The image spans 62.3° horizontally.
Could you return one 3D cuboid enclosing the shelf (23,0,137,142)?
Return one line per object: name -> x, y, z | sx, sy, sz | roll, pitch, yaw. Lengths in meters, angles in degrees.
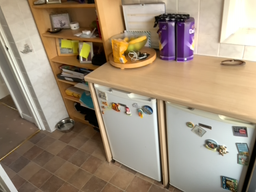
shelf -> -0.450, -0.550, 1.930 | 0.850, 2.010, 0.310 | 15, 39, 31
